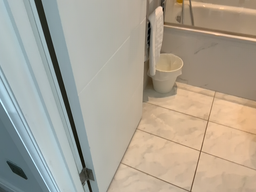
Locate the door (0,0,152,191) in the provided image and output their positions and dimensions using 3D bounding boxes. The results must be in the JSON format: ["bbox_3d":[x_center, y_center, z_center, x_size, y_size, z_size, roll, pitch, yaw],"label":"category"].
[{"bbox_3d":[-0.070,-0.330,0.740,0.040,1.970,0.830,17,44,19],"label":"door"}]

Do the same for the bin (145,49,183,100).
[{"bbox_3d":[0.310,-0.190,1.830,0.230,0.290,0.270,16,44,18],"label":"bin"}]
